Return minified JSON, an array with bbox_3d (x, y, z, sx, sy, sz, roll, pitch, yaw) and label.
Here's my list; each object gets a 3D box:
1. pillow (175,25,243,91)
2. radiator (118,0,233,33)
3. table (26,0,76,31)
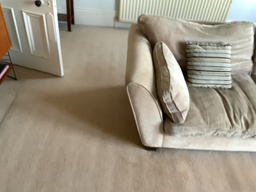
[{"bbox_3d":[0.660,-0.290,1.730,0.360,0.400,0.130,-35,35,22],"label":"pillow"},{"bbox_3d":[0.740,-1.440,3.420,1.780,0.710,0.120,2,39,-4],"label":"radiator"},{"bbox_3d":[-1.170,-1.430,3.260,0.630,0.680,0.360,5,39,-3],"label":"table"}]
